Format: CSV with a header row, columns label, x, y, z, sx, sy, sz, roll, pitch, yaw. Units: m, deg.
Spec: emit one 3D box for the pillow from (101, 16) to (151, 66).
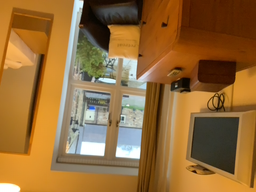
label,x,y,z,sx,sy,sz,roll,pitch,yaw
pillow,-0.030,-0.580,2.250,0.440,0.390,0.110,21,-157,11
